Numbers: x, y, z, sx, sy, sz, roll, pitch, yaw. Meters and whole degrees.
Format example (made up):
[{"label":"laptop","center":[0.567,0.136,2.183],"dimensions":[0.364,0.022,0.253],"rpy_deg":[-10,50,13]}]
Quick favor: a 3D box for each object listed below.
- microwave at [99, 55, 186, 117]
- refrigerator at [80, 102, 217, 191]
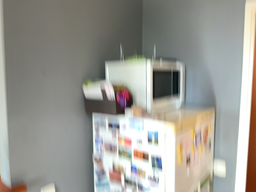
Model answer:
[{"label":"microwave","center":[0.110,-0.080,1.380],"dimensions":[0.370,0.320,0.460],"rpy_deg":[4,8,37]},{"label":"refrigerator","center":[0.150,0.790,1.350],"dimensions":[0.590,1.400,0.610],"rpy_deg":[4,8,35]}]
